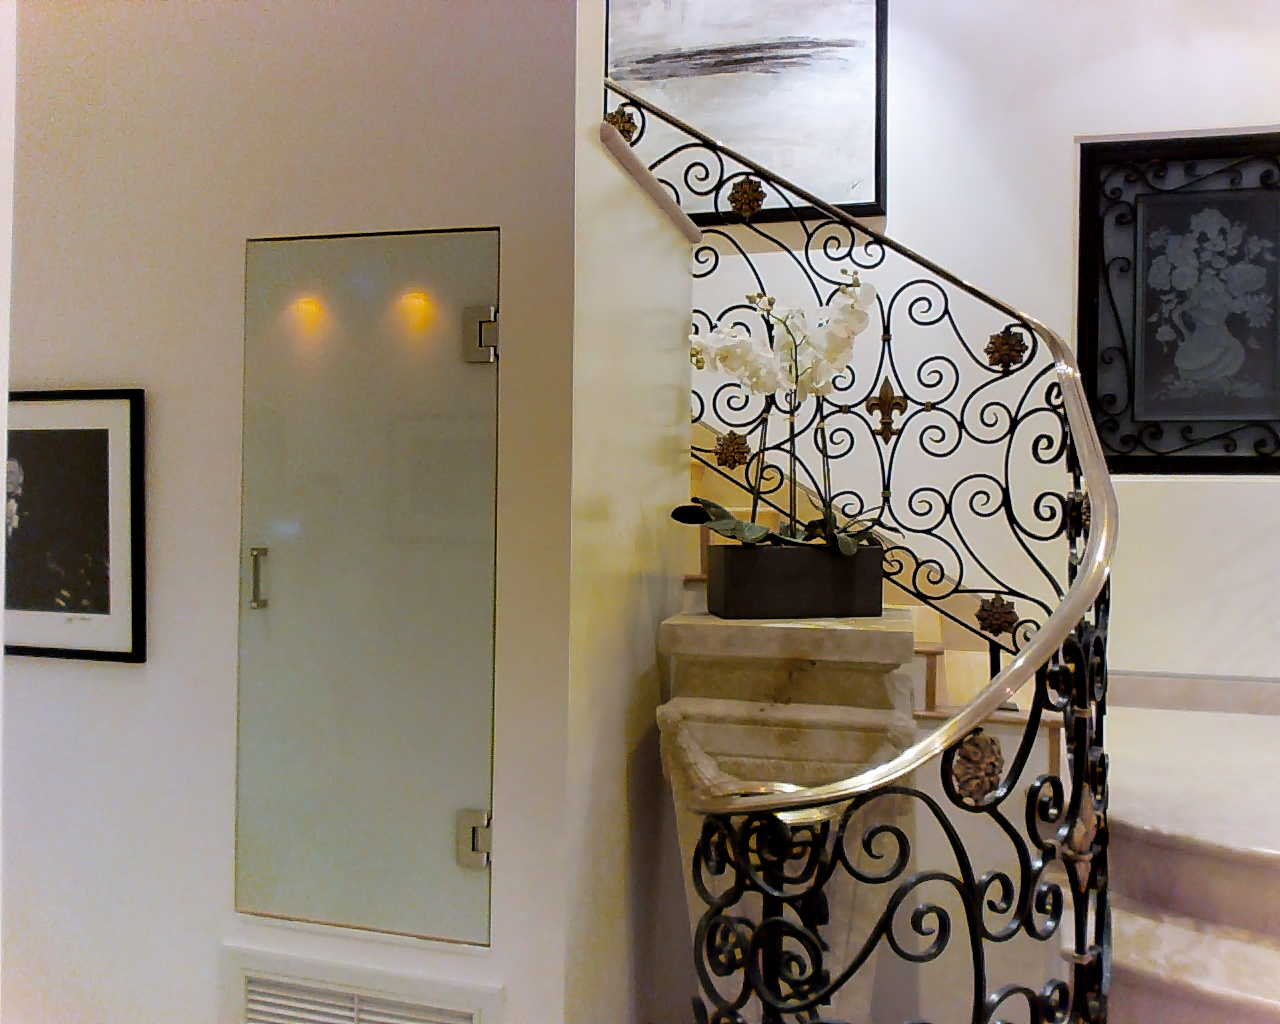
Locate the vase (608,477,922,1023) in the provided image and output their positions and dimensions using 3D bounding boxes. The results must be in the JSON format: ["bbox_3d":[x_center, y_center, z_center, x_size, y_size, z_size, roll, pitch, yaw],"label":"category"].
[{"bbox_3d":[0.330,0.720,2.510,0.610,1.581,0.750,1,0,15],"label":"vase"}]

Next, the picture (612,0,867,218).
[{"bbox_3d":[0.370,-1.791,4.080,0.960,1.271,0.070,1,0,15],"label":"picture"}]
